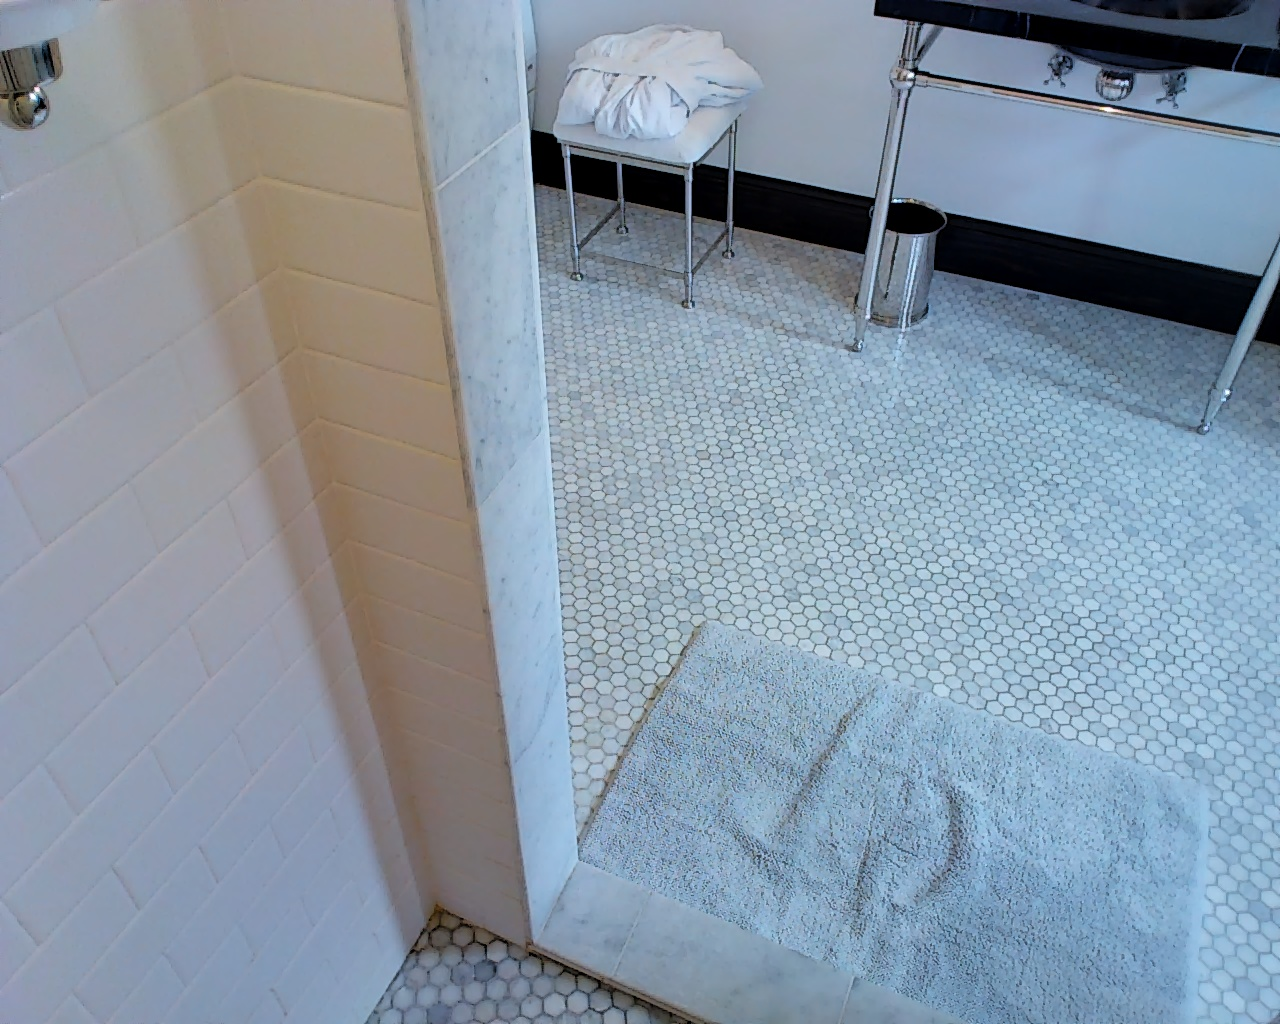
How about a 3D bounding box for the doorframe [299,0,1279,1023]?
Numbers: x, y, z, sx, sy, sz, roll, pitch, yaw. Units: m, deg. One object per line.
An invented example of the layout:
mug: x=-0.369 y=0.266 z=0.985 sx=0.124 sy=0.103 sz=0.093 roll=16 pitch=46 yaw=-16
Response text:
doorframe: x=0.280 y=-0.130 z=0.690 sx=0.970 sy=2.370 sz=0.220 roll=17 pitch=46 yaw=17
